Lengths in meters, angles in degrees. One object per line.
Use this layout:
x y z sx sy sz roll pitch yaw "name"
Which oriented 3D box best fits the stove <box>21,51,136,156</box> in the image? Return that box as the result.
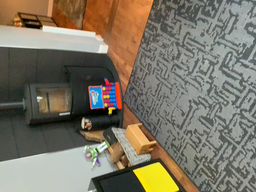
-0.660 0.030 2.630 0.870 1.040 0.810 48 130 42 "stove"
